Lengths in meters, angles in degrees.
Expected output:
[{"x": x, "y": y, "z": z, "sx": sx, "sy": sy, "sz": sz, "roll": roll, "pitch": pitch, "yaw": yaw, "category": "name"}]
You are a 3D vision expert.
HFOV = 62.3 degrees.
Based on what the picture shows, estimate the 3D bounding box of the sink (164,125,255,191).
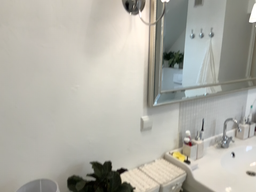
[{"x": 0.800, "y": 0.430, "z": 1.400, "sx": 1.040, "sy": 0.130, "sz": 0.500, "roll": -8, "pitch": 16, "yaw": -32, "category": "sink"}]
